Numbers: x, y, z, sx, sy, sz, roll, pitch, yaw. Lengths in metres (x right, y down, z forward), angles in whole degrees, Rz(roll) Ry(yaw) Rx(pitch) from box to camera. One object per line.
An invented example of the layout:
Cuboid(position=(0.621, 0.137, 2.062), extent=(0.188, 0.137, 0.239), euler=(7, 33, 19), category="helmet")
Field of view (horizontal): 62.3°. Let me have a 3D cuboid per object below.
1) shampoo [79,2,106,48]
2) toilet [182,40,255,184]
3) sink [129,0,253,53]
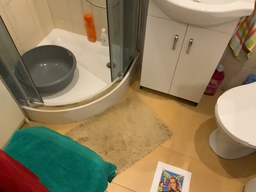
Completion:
Cuboid(position=(-0.280, -0.570, 1.730), extent=(0.170, 0.340, 0.080), euler=(15, 54, 9), category="shampoo")
Cuboid(position=(0.770, 0.060, 1.180), extent=(0.670, 0.730, 0.380), euler=(-21, 57, -16), category="toilet")
Cuboid(position=(0.320, -0.480, 1.080), extent=(0.520, 0.190, 0.380), euler=(18, 55, 11), category="sink")
